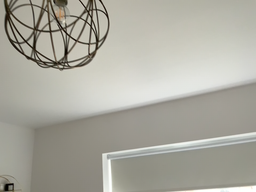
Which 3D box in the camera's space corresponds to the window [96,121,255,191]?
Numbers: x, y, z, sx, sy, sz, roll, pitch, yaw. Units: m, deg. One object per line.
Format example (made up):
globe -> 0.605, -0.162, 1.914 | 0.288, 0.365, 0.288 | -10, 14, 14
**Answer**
window -> 0.570, 1.070, 1.980 | 1.860, 1.410, 0.210 | -14, -23, 21
